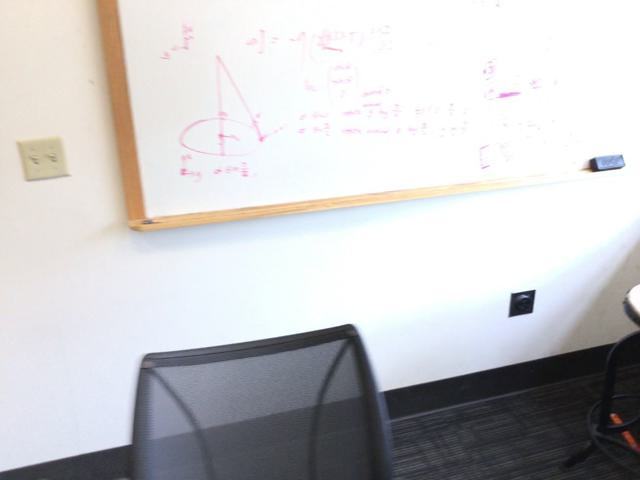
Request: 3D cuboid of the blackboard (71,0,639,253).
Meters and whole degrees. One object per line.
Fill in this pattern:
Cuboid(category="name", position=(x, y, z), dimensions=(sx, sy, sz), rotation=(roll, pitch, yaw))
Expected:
Cuboid(category="blackboard", position=(0.510, -0.730, 1.710), dimensions=(2.310, 1.420, 0.200), rotation=(-3, 19, -14))
